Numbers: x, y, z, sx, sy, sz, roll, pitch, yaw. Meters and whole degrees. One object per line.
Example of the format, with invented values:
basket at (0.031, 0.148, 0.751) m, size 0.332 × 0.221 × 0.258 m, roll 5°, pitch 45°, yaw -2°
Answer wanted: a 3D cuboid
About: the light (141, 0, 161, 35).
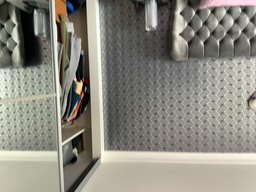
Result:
light at (0.250, -0.830, 2.240) m, size 0.190 × 0.300 × 0.230 m, roll -1°, pitch -176°, yaw 9°
